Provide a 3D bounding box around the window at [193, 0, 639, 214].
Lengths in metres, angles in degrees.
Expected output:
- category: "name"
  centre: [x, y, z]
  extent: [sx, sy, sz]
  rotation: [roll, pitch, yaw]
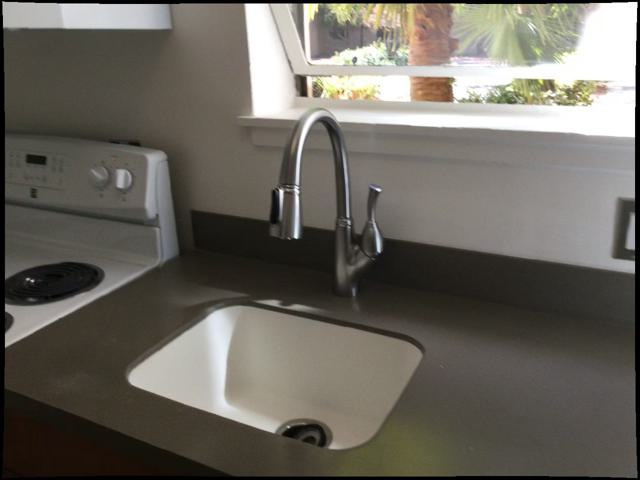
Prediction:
- category: "window"
  centre: [0.269, -0.471, 1.120]
  extent: [1.028, 0.682, 0.330]
  rotation: [10, 23, 25]
